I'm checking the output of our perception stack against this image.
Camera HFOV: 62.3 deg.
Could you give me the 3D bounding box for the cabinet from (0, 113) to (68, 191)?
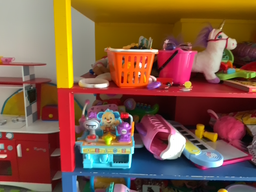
[{"bbox_3d":[-0.970,0.440,1.750,0.840,0.500,0.340,3,13,3],"label":"cabinet"}]
